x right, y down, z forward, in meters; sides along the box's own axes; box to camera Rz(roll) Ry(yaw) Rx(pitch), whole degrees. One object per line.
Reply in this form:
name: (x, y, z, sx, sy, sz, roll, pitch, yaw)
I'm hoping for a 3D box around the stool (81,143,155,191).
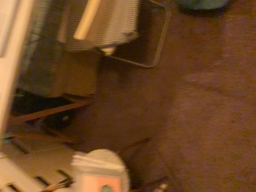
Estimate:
stool: (-0.050, 0.480, 1.290, 0.260, 0.320, 0.250, 19, 96, 29)
